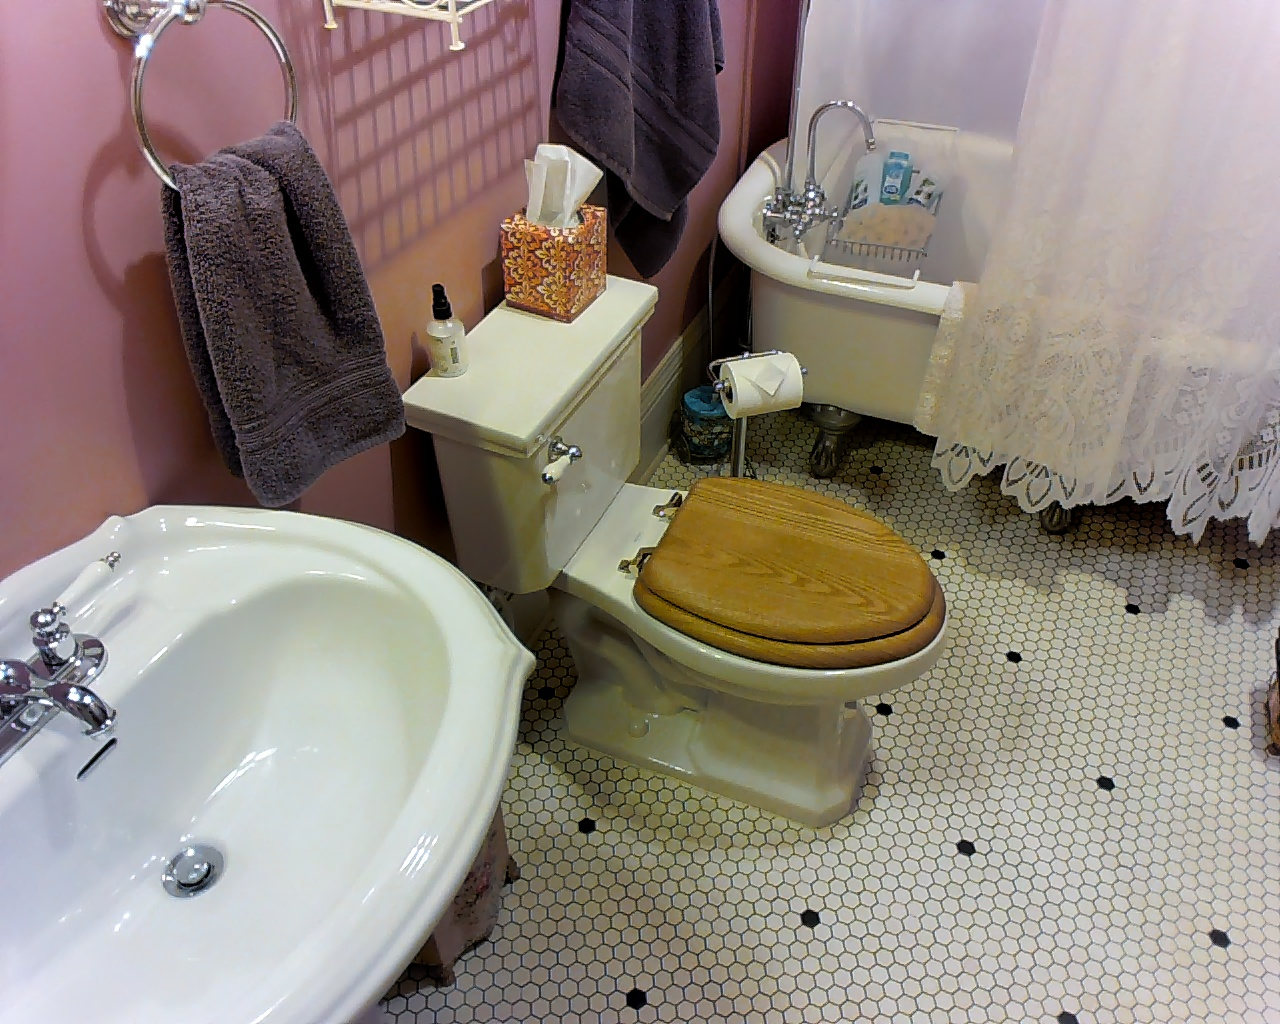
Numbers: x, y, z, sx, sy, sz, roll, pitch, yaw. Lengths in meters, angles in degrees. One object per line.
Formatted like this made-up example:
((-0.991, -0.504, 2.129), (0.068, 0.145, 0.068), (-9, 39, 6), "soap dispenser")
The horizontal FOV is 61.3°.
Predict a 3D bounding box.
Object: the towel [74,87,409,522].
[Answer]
((-0.370, -0.200, 1.070), (0.140, 0.350, 0.200), (18, 45, 18), "towel")

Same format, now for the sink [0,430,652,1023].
((-0.360, 0.520, 1.140), (0.490, 0.890, 0.680), (19, 46, 19), "sink")

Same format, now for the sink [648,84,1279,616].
((0.740, -0.410, 2.340), (1.260, 0.580, 0.710), (18, 45, 18), "sink")

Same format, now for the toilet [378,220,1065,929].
((0.120, 0.090, 1.720), (0.790, 0.790, 0.500), (19, 46, 20), "toilet")
